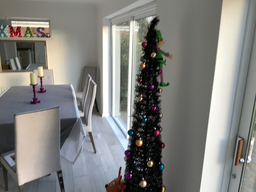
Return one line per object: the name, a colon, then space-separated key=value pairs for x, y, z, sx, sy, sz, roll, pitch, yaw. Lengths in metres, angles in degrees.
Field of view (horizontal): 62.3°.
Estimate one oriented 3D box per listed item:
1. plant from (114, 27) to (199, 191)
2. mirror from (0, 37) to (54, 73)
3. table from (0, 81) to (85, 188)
plant: x=0.140 y=0.390 z=1.550 sx=0.400 sy=1.670 sz=0.380 roll=-3 pitch=16 yaw=-17
mirror: x=-2.200 y=-0.910 z=4.710 sx=1.020 sy=0.750 sz=0.120 roll=-4 pitch=16 yaw=-20
table: x=-1.330 y=0.360 z=3.240 sx=1.110 sy=0.800 sz=1.970 roll=-3 pitch=16 yaw=-17
